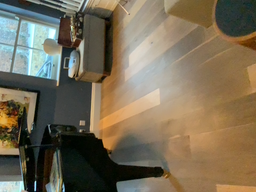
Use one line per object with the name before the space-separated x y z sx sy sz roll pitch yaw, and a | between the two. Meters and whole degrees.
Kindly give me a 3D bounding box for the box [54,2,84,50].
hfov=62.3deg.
box | -1.070 -1.250 3.840 0.480 0.370 0.590 -28 57 57
